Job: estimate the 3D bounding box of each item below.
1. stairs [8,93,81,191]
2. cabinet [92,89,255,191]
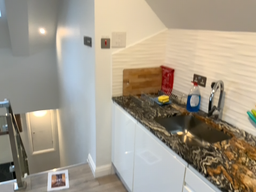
[{"bbox_3d":[-1.660,1.660,4.050,0.760,2.640,2.960,-8,21,-27],"label":"stairs"},{"bbox_3d":[0.260,0.600,1.730,0.590,0.880,1.580,-8,21,-27],"label":"cabinet"}]
